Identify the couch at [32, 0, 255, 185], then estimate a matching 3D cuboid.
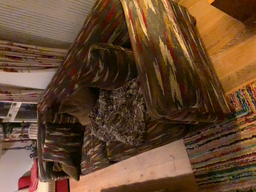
[{"bbox_3d":[-0.260,0.070,2.180,2.490,0.790,1.180,-37,57,46],"label":"couch"}]
